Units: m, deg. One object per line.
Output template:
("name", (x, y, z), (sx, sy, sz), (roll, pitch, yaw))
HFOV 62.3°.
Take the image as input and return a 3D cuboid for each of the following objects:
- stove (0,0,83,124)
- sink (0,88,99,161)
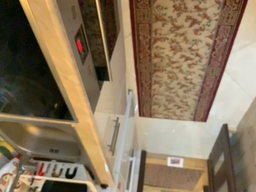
("stove", (-0.490, -0.110, 0.660), (0.560, 0.030, 0.630), (3, 142, 9))
("sink", (-0.430, 0.160, 1.100), (0.460, 0.160, 0.400), (3, 142, 9))
